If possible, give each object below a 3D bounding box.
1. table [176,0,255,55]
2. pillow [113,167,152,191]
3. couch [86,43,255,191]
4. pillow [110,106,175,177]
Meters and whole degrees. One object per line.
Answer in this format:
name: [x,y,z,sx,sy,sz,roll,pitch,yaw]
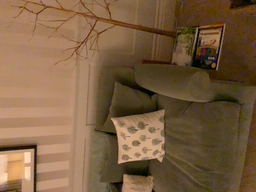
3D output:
table: [0.620,-0.440,1.460,0.220,0.520,0.270,20,108,62]
pillow: [0.050,0.820,1.770,0.140,0.290,0.380,-114,15,-71]
couch: [0.240,0.780,1.800,1.220,0.860,2.240,20,108,62]
pillow: [0.100,0.330,1.600,0.140,0.390,0.440,84,175,-84]
